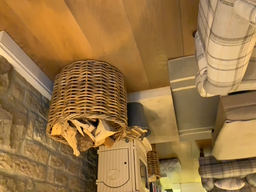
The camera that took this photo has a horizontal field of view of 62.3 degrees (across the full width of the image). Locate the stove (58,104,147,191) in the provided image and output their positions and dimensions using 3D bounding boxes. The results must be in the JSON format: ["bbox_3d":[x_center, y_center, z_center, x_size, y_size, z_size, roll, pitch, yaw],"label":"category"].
[{"bbox_3d":[-0.200,0.660,2.160,0.630,0.840,0.700,-10,148,12],"label":"stove"}]

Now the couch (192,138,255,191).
[{"bbox_3d":[1.570,1.270,3.320,0.840,0.840,0.880,-14,147,18],"label":"couch"}]
